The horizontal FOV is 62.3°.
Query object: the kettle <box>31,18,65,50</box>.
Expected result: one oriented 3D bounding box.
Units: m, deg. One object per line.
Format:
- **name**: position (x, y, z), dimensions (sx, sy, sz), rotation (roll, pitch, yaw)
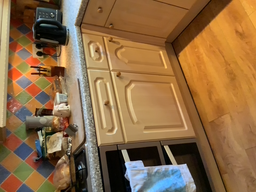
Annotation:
- **kettle**: position (-0.590, -0.450, 1.560), dimensions (0.170, 0.210, 0.150), rotation (-10, 80, 61)
